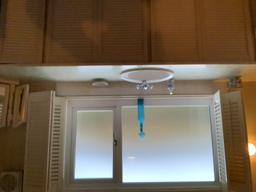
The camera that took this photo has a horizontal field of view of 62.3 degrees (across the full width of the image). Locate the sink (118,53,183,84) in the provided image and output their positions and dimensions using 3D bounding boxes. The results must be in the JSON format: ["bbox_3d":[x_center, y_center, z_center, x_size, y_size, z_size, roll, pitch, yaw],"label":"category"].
[{"bbox_3d":[0.200,-0.270,2.180,0.590,0.170,0.480,-1,170,-1],"label":"sink"}]

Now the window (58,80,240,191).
[{"bbox_3d":[0.220,0.490,2.600,1.970,1.290,0.420,-1,170,-1],"label":"window"}]
